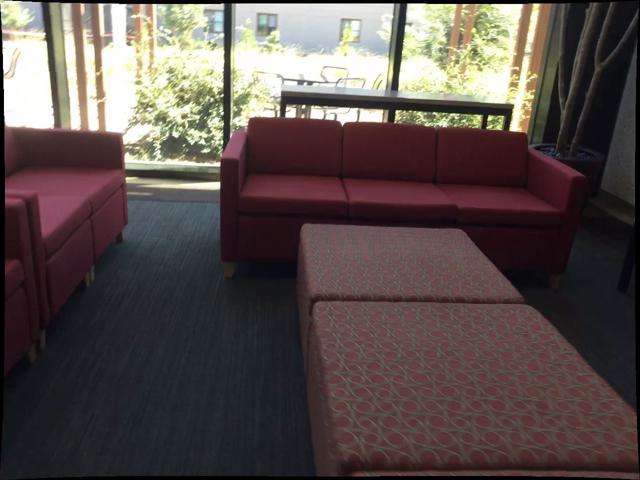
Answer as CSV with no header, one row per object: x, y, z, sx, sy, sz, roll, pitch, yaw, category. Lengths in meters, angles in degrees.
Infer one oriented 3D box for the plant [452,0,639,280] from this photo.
1.727,-1.332,3.560,0.958,2.714,1.540,5,23,-4,plant
